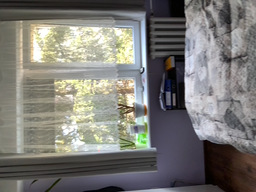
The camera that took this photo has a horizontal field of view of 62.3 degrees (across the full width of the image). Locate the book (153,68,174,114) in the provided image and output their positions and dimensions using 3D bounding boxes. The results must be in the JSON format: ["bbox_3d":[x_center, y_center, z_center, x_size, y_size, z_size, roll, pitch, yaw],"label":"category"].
[{"bbox_3d":[0.410,-0.050,2.520,0.290,0.150,0.500,134,135,-80],"label":"book"}]
